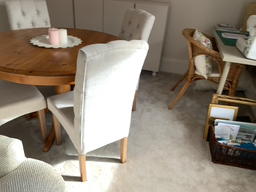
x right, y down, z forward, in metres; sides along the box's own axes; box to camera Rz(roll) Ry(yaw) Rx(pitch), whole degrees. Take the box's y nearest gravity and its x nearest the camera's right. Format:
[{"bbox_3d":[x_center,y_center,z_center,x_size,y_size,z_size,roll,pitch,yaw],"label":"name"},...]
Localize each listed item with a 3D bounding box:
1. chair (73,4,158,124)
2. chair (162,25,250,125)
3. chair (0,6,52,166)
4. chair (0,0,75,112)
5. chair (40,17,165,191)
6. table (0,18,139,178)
[{"bbox_3d":[-0.150,-0.330,2.040,0.550,0.960,0.490,-15,36,-31],"label":"chair"},{"bbox_3d":[0.780,-0.250,2.230,0.610,0.790,0.540,15,31,16],"label":"chair"},{"bbox_3d":[-0.940,-0.050,1.440,0.560,0.960,0.460,-22,40,-39],"label":"chair"},{"bbox_3d":[-0.900,-0.450,2.110,0.480,0.970,0.550,-19,38,-36],"label":"chair"},{"bbox_3d":[-0.200,0.040,1.410,0.470,0.960,0.560,-16,36,-32],"label":"chair"},{"bbox_3d":[-0.580,-0.120,1.820,1.110,0.750,1.110,10,30,8],"label":"table"}]
